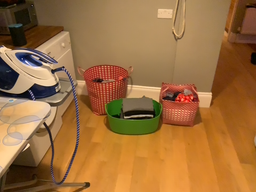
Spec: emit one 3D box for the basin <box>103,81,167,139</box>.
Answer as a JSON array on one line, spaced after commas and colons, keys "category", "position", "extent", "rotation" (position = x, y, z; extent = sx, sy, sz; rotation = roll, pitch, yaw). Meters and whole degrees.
[{"category": "basin", "position": [0.090, 0.130, 2.220], "extent": [0.570, 0.330, 0.470], "rotation": [6, 33, 9]}]
